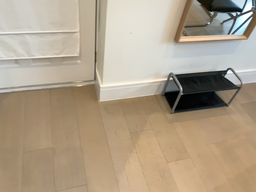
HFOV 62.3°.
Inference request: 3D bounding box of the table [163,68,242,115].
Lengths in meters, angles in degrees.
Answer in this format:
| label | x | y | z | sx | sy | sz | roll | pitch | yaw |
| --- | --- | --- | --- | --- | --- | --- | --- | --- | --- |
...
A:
| label | x | y | z | sx | sy | sz | roll | pitch | yaw |
| --- | --- | --- | --- | --- | --- | --- | --- | --- | --- |
| table | 0.660 | -0.050 | 1.930 | 0.580 | 0.250 | 0.270 | -7 | 49 | -17 |
